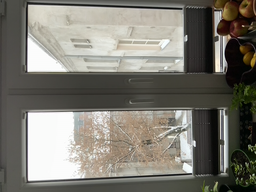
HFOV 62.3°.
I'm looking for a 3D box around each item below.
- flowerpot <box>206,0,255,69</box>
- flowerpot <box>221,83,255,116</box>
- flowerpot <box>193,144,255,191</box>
[{"bbox_3d":[0.540,-0.360,0.940,0.430,0.180,0.440,-157,67,-83],"label":"flowerpot"},{"bbox_3d":[0.590,0.010,1.030,0.210,0.160,0.140,-149,59,-82],"label":"flowerpot"},{"bbox_3d":[0.550,0.420,0.930,0.470,0.340,0.280,-153,63,-82],"label":"flowerpot"}]
